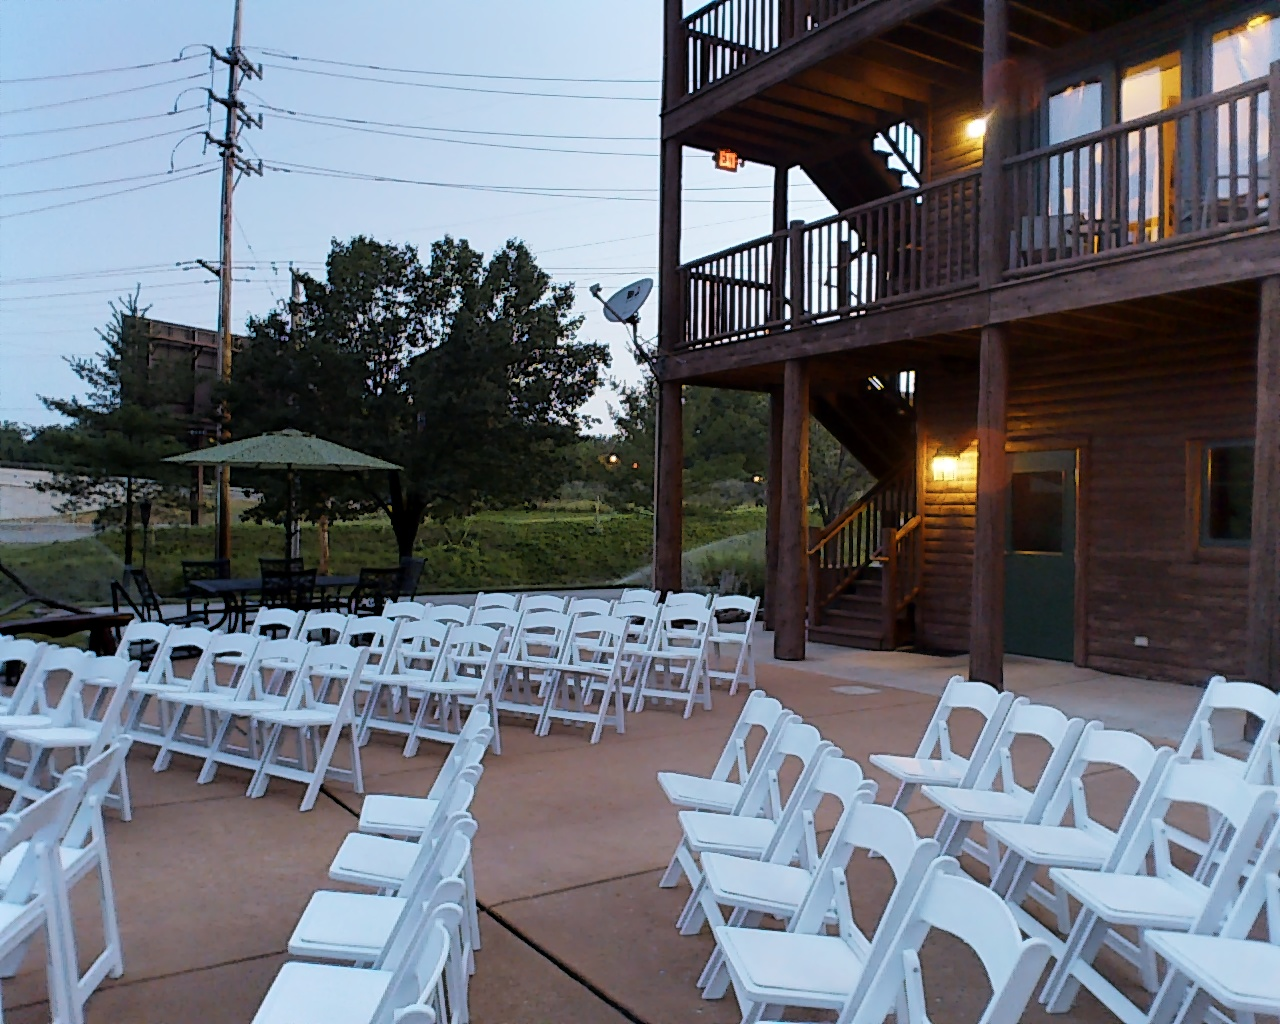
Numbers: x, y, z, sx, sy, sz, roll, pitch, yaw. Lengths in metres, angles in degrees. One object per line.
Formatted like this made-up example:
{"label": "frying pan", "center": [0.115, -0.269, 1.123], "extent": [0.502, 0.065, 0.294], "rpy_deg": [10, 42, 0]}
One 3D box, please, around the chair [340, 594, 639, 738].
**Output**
{"label": "chair", "center": [-1.160, 1.060, 7.840], "extent": [2.420, 0.760, 0.540], "rpy_deg": [1, 1, 34]}

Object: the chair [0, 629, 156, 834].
{"label": "chair", "center": [-3.559, 1.080, 5.880], "extent": [2.470, 0.750, 0.560], "rpy_deg": [1, 1, 37]}

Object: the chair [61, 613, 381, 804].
{"label": "chair", "center": [-2.549, 1.080, 6.370], "extent": [2.410, 0.760, 0.570], "rpy_deg": [1, 1, 37]}

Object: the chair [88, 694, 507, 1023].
{"label": "chair", "center": [-0.670, 1.110, 2.900], "extent": [0.560, 0.780, 2.560], "rpy_deg": [0, 1, -6]}

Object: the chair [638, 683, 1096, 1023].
{"label": "chair", "center": [0.400, 1.100, 3.170], "extent": [0.630, 0.760, 2.570], "rpy_deg": [0, 1, -4]}

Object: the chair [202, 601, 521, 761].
{"label": "chair", "center": [-1.950, 1.070, 7.270], "extent": [2.490, 0.760, 0.590], "rpy_deg": [1, 1, 34]}

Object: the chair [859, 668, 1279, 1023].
{"label": "chair", "center": [1.410, 1.090, 3.580], "extent": [0.590, 0.750, 2.510], "rpy_deg": [0, 1, -6]}
